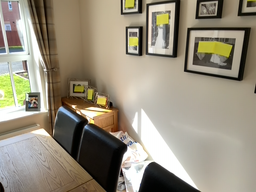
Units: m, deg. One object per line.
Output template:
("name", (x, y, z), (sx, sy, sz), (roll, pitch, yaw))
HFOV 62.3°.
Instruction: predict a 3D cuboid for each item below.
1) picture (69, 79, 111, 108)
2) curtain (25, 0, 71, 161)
("picture", (-0.490, -0.050, 2.680), (0.280, 0.200, 0.560), (-13, 22, -35))
("curtain", (-0.980, -0.250, 2.650), (0.320, 2.300, 0.110), (-10, 21, -29))
